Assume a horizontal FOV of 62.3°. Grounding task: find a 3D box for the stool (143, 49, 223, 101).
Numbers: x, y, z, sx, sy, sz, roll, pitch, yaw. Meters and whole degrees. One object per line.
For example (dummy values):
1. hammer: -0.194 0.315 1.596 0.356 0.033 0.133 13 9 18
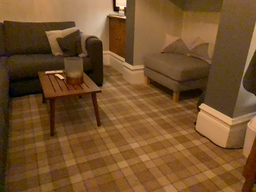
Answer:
1. stool: 0.670 -0.320 2.800 0.610 0.430 0.790 -8 25 -23
